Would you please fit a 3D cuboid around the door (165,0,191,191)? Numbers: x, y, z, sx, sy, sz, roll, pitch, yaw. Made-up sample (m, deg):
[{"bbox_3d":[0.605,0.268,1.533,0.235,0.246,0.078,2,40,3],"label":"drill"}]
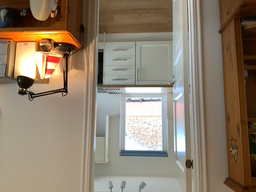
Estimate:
[{"bbox_3d":[0.430,-0.200,1.950,0.070,2.110,0.790,0,173,5],"label":"door"}]
